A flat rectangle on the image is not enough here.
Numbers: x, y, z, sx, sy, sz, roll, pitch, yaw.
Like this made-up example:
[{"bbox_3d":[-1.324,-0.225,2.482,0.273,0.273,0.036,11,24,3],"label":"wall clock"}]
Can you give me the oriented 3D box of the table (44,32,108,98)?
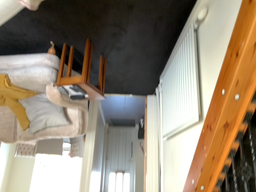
[{"bbox_3d":[-0.490,-0.280,2.140,0.370,0.470,0.490,-3,163,18],"label":"table"}]
